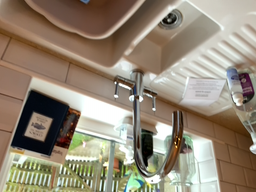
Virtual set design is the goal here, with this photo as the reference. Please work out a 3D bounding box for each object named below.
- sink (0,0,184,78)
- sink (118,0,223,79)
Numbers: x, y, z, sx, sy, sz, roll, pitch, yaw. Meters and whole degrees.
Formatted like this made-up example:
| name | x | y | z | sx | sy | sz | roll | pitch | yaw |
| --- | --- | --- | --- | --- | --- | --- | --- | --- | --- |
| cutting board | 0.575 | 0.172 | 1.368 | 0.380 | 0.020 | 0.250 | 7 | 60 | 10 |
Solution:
| name | x | y | z | sx | sy | sz | roll | pitch | yaw |
| --- | --- | --- | --- | --- | --- | --- | --- | --- | --- |
| sink | -0.110 | -0.340 | 0.580 | 0.430 | 0.210 | 0.540 | 21 | 144 | -28 |
| sink | 0.120 | -0.210 | 0.710 | 0.160 | 0.130 | 0.310 | 21 | 144 | -28 |
